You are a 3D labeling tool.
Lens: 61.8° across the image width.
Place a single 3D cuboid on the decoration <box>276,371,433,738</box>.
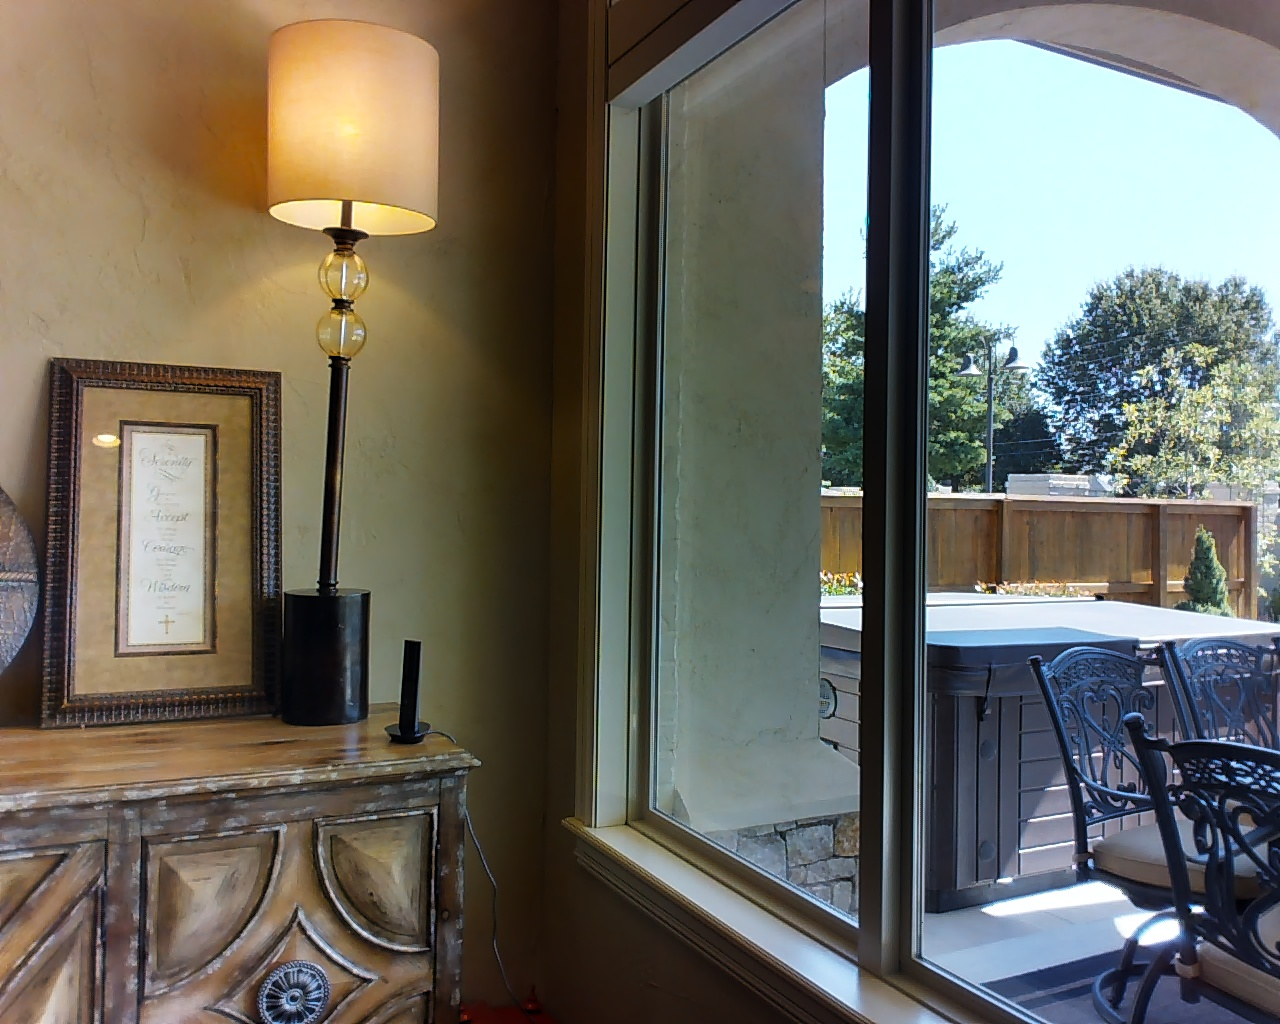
[{"bbox_3d":[-0.640,0.090,2.450,0.210,0.770,0.400,1,-1,5],"label":"decoration"}]
